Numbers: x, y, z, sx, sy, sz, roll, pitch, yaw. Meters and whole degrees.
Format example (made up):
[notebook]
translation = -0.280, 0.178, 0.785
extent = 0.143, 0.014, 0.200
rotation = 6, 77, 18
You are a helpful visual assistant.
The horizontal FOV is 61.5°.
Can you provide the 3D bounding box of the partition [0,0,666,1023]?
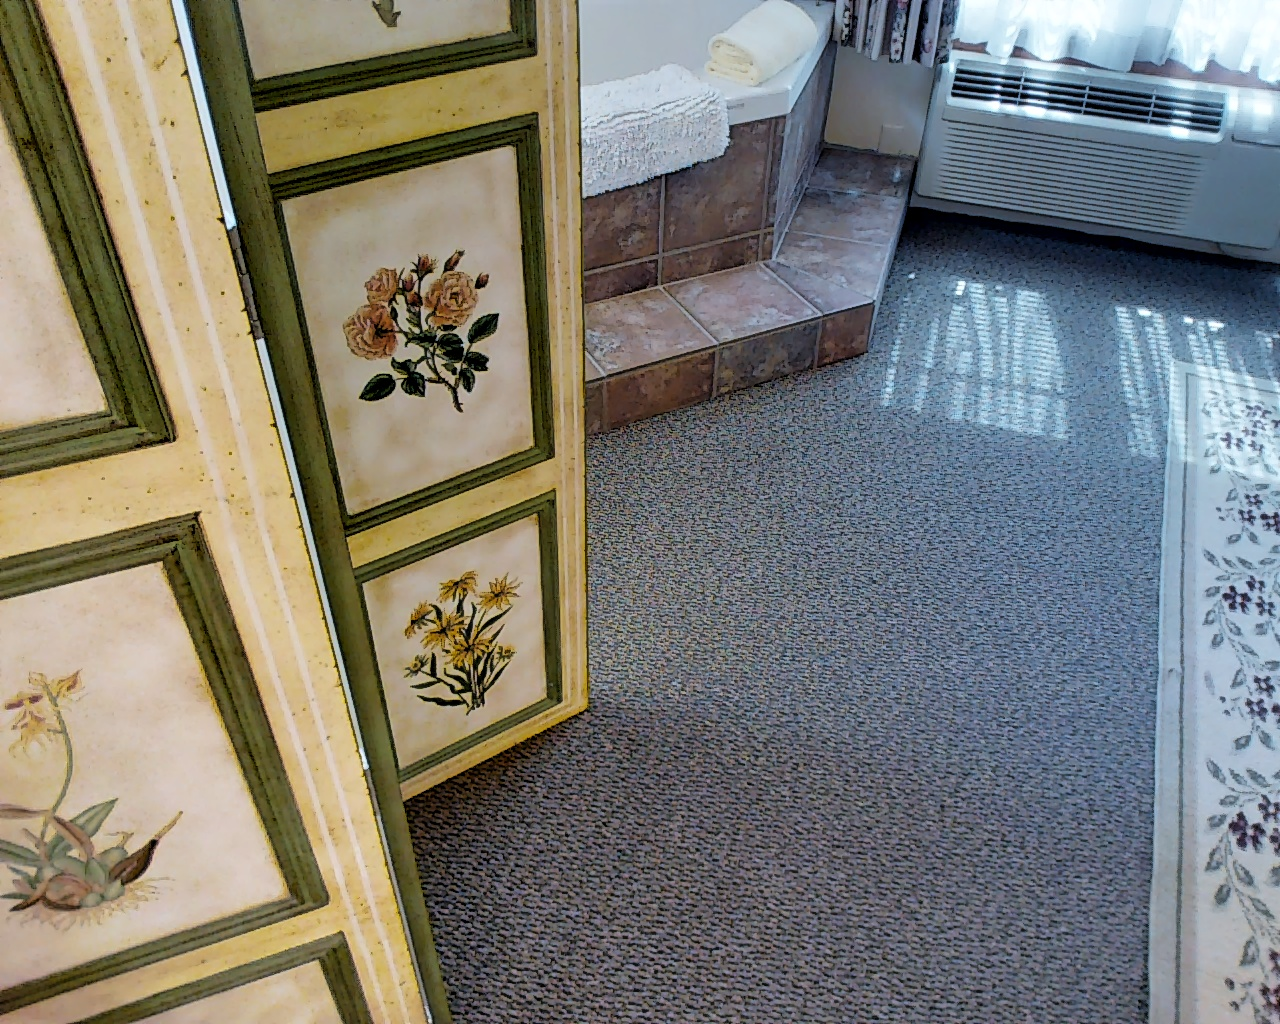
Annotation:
[partition]
translation = -0.420, 0.000, 0.880
extent = 0.470, 2.000, 1.480
rotation = 13, 42, 12
